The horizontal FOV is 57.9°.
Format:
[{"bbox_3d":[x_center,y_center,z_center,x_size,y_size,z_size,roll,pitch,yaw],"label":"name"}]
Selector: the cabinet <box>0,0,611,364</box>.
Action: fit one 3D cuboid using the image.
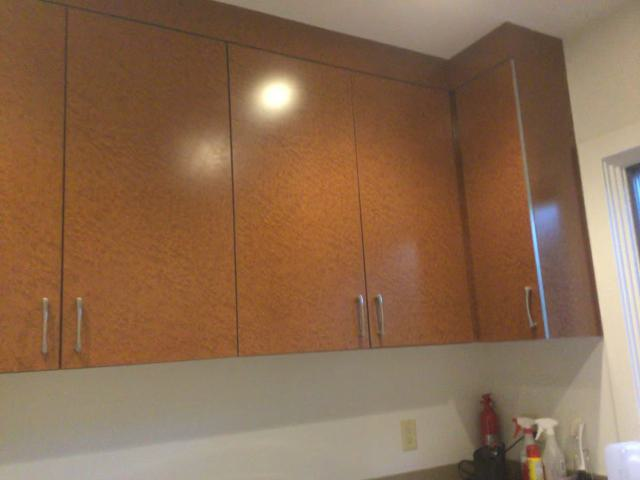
[{"bbox_3d":[-0.140,-0.230,1.910,2.250,1.170,0.630,3,-13,-28],"label":"cabinet"}]
